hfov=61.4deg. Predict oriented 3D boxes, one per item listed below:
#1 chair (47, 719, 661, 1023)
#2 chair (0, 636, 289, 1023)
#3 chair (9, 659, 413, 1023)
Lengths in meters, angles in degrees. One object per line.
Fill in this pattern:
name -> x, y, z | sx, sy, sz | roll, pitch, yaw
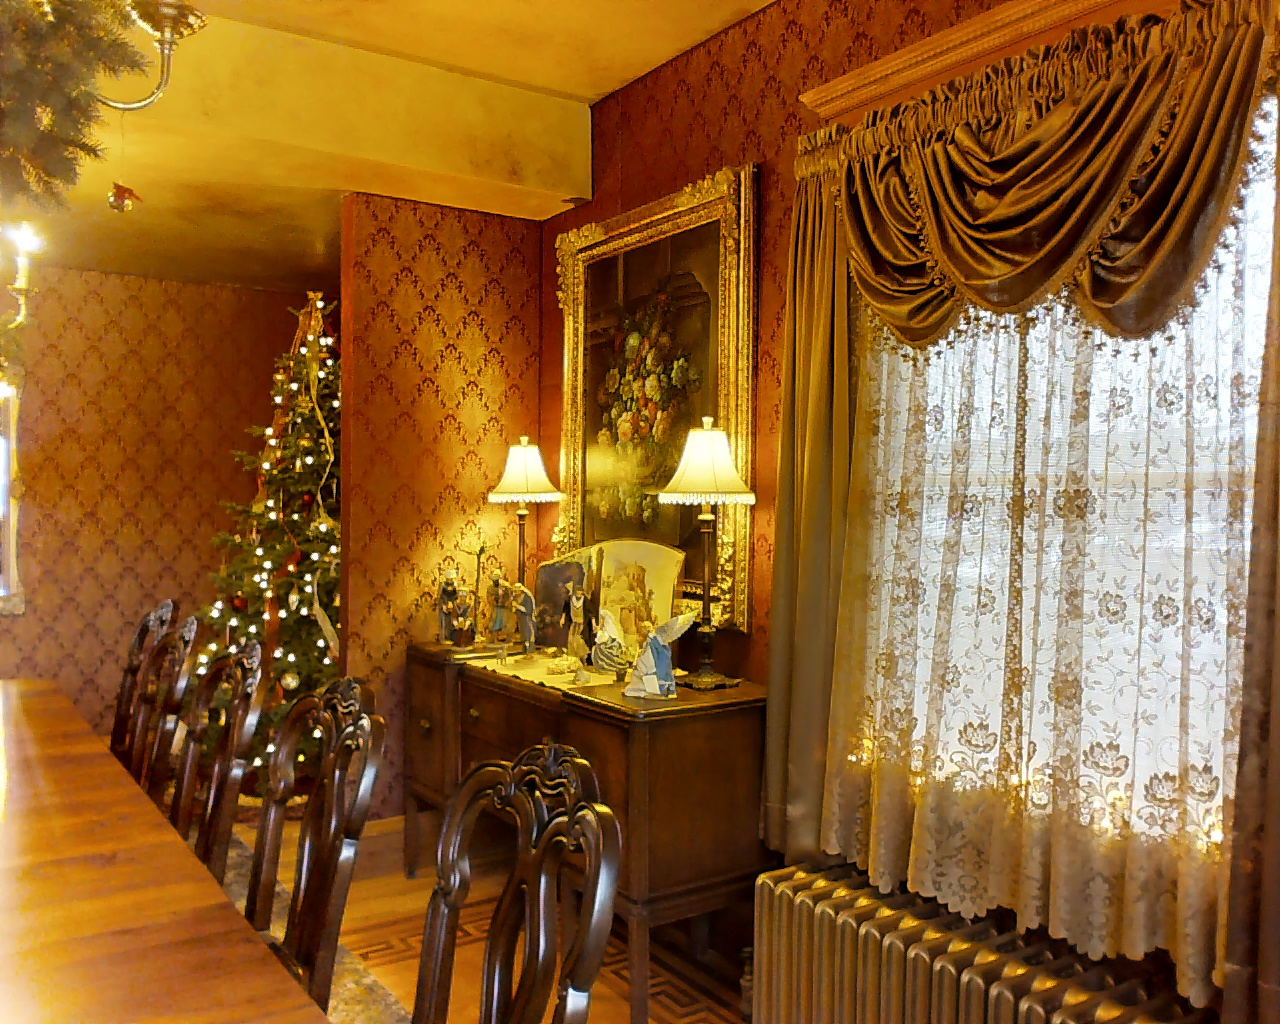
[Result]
chair -> -0.430, 0.930, 1.520 | 0.660, 1.110, 0.620 | 1, 0, -34
chair -> -1.270, 0.900, 2.680 | 0.580, 1.090, 0.630 | 1, 0, -34
chair -> -0.870, 0.910, 2.120 | 0.590, 1.120, 0.680 | 1, 0, -34
